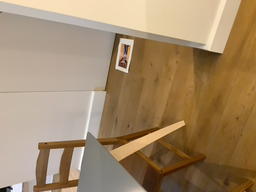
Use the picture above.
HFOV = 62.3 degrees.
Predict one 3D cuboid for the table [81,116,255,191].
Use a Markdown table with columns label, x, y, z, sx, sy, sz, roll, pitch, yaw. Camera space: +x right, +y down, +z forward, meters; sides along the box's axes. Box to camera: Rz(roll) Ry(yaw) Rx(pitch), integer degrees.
| label | x | y | z | sx | sy | sz | roll | pitch | yaw |
| --- | --- | --- | --- | --- | --- | --- | --- | --- | --- |
| table | 0.190 | 0.850 | 1.200 | 0.700 | 0.720 | 1.230 | 29 | 114 | 46 |
